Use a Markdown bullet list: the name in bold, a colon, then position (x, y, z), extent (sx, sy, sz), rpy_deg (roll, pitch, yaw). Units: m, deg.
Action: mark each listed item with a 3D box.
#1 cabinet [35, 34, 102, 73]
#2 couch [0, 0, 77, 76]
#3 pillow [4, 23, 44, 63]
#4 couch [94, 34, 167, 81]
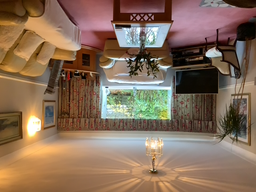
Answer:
- **cabinet**: position (-1.460, -1.000, 5.360), extent (1.460, 0.660, 0.680), rpy_deg (2, 179, -42)
- **couch**: position (-1.490, -0.890, 3.140), extent (0.980, 0.960, 2.090), rpy_deg (1, 179, -1)
- **pillow**: position (-1.560, -0.780, 3.220), extent (0.230, 0.440, 0.440), rpy_deg (-27, -179, 0)
- **couch**: position (0.080, -0.850, 4.980), extent (1.540, 0.910, 0.950), rpy_deg (1, 179, 3)
